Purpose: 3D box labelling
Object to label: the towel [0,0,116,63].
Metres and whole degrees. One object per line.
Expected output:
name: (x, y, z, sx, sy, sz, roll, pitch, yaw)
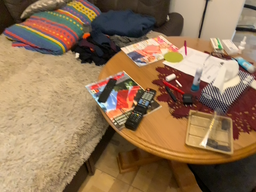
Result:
towel: (-0.580, -0.640, 1.770, 0.700, 0.220, 0.740, 16, 46, 17)
